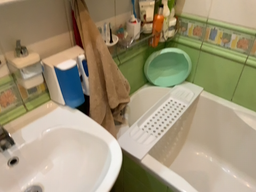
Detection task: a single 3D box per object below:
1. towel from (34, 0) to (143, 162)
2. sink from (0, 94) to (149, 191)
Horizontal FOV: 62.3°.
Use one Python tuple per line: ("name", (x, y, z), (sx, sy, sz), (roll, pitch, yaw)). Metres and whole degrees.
("towel", (-0.120, -0.070, 0.930), (0.180, 0.620, 0.360), (22, 42, 26))
("sink", (-0.290, 0.280, 0.660), (0.440, 0.170, 0.590), (26, 44, 30))
